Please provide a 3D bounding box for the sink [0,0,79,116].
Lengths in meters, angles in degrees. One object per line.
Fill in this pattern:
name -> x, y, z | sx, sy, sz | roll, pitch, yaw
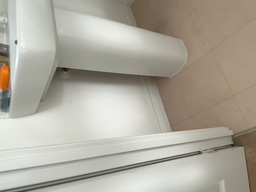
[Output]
sink -> -0.370, -0.270, 0.780 | 0.430, 0.140, 0.560 | -41, 57, 46
